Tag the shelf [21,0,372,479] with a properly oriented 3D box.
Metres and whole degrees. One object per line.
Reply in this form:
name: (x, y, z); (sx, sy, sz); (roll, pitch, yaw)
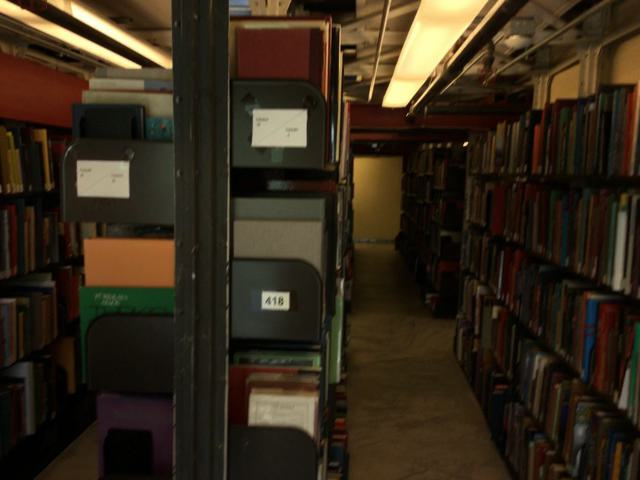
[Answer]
shelf: (-0.190, 0.250, 1.950); (0.680, 2.070, 1.510); (1, 7, 5)
